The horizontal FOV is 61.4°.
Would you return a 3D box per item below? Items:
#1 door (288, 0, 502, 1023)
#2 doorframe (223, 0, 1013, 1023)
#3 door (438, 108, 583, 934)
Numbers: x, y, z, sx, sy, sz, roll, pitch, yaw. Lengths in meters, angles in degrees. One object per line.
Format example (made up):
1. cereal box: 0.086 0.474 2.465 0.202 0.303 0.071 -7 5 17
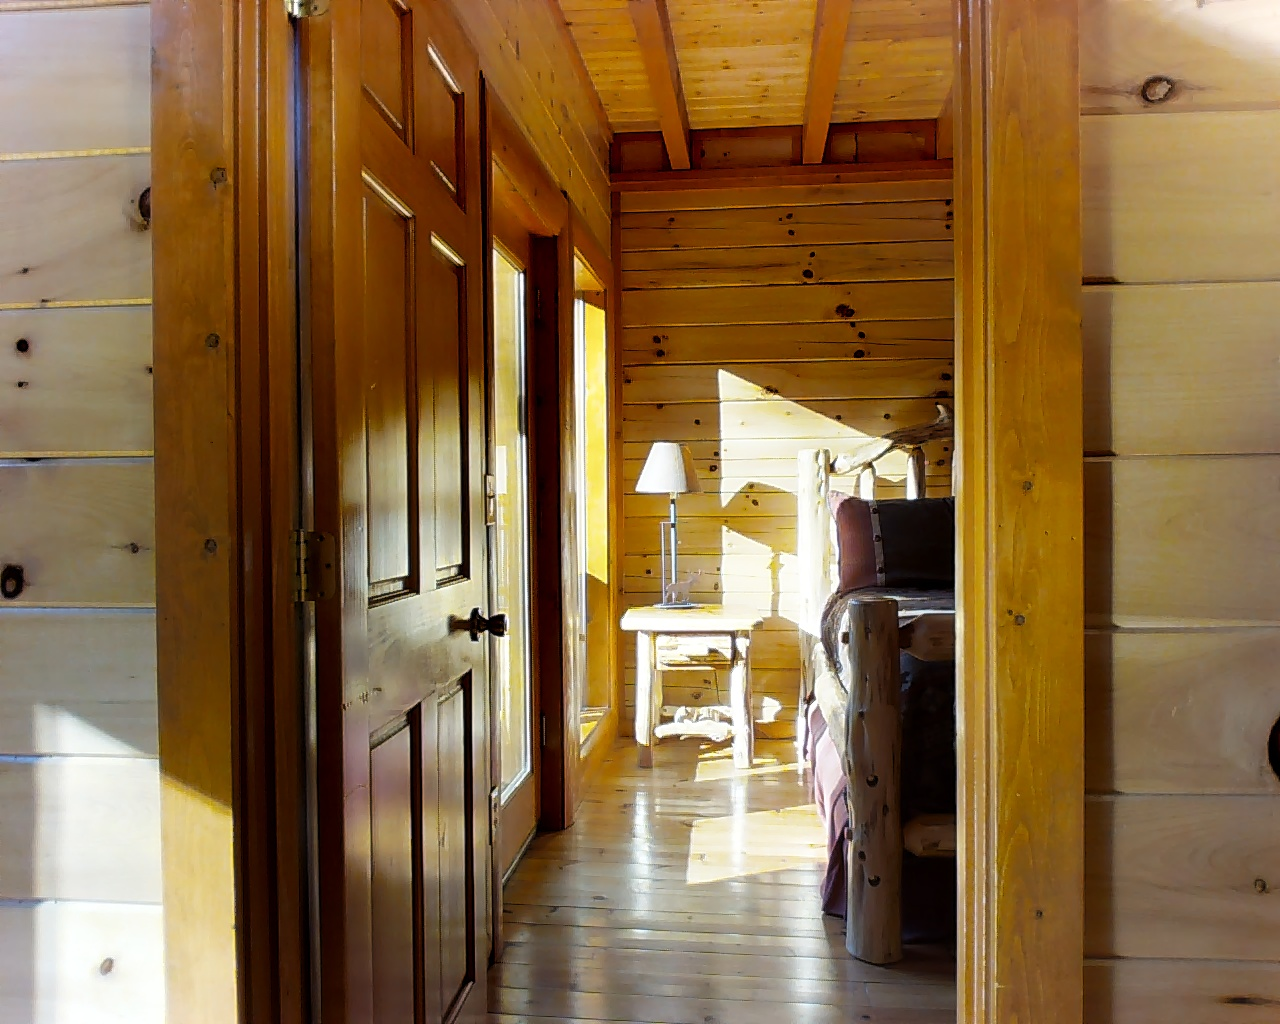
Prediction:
1. door: -0.350 0.100 1.730 0.050 2.071 0.850 0 2 6
2. doorframe: -0.030 0.110 1.290 0.870 2.131 0.190 0 2 7
3. door: -0.360 0.020 3.290 0.180 2.121 1.040 0 2 7
